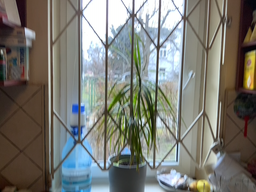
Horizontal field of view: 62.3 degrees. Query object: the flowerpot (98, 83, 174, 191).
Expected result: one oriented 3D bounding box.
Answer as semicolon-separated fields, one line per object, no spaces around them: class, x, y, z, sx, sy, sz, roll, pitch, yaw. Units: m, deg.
flowerpot;0.050;0.250;1.190;0.360;0.630;0.290;2;6;8
